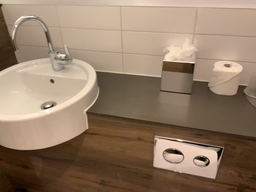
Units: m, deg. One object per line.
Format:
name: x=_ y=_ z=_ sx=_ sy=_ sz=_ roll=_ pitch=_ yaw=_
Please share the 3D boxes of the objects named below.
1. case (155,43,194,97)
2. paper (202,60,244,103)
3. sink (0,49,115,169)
case: x=0.190 y=-0.110 z=0.870 sx=0.130 sy=0.170 sz=0.130 roll=8 pitch=33 yaw=14
paper: x=0.370 y=-0.060 z=0.840 sx=0.120 sy=0.120 sz=0.110 roll=9 pitch=34 yaw=16
sink: x=-0.360 y=0.000 z=0.900 sx=0.470 sy=0.200 sz=0.490 roll=8 pitch=33 yaw=13
